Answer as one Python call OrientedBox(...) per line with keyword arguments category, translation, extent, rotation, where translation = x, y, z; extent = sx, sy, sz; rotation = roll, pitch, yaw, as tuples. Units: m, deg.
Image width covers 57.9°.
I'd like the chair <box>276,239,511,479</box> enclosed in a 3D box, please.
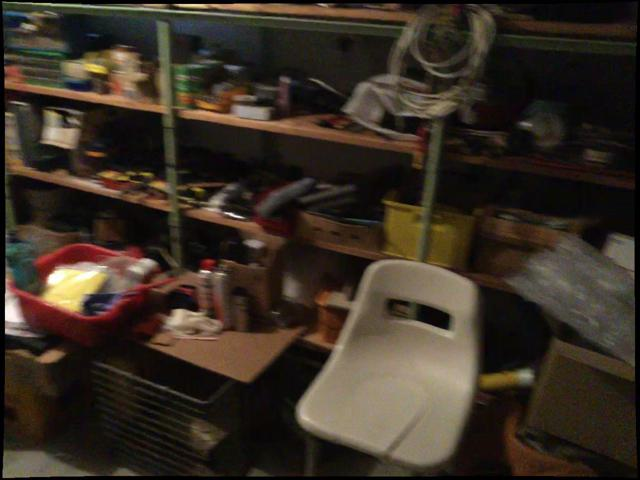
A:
OrientedBox(category="chair", translation=(0.210, 0.310, 1.580), extent=(0.480, 0.380, 0.480), rotation=(12, 29, 22))
